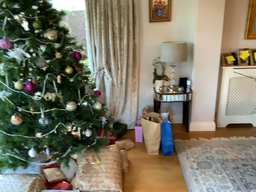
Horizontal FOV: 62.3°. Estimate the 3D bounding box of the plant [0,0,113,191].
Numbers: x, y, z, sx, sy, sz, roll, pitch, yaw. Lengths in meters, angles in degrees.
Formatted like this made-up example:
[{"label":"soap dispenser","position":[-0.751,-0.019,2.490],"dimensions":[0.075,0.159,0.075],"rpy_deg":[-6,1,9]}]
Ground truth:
[{"label":"plant","position":[-0.810,-0.330,2.200],"dimensions":[1.080,2.200,1.320],"rpy_deg":[-5,20,-6]}]
